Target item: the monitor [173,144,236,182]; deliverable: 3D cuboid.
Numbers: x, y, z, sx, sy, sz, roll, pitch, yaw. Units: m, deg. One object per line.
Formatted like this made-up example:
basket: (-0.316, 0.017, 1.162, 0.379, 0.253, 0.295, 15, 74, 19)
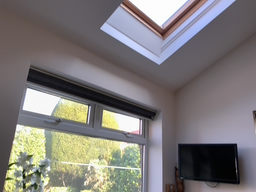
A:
monitor: (0.720, 0.640, 2.070, 0.570, 0.330, 0.040, -10, -23, 34)
